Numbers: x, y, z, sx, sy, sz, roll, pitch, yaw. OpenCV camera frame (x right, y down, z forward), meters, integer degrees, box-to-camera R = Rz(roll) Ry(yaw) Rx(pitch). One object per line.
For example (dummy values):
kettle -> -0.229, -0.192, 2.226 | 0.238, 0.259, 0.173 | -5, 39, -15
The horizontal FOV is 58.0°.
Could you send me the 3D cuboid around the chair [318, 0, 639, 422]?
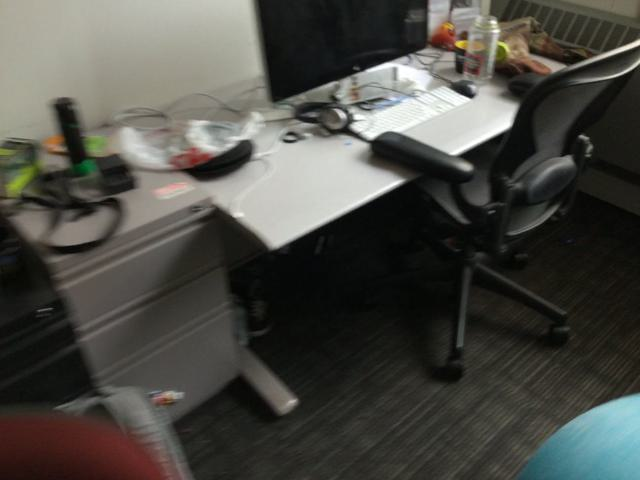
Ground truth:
chair -> 0.460, -0.160, 1.690 | 0.690, 0.970, 0.620 | -27, 44, -33
